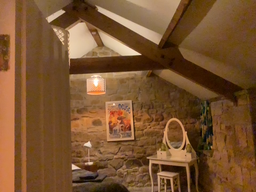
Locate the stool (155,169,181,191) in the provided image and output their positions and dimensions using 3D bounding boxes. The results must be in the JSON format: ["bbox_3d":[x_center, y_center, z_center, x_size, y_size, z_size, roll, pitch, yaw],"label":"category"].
[{"bbox_3d":[0.820,1.790,4.340,0.400,0.450,0.310,-8,-7,35],"label":"stool"}]
